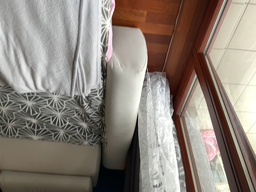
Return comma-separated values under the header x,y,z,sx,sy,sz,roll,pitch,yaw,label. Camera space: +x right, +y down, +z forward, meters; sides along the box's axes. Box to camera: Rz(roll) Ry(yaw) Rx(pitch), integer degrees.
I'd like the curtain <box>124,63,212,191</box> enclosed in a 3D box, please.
x,y,z,sx,sy,sz,roll,pitch,yaw,label
0.190,0.810,0.790,0.340,2.620,0.310,18,131,-16,curtain
